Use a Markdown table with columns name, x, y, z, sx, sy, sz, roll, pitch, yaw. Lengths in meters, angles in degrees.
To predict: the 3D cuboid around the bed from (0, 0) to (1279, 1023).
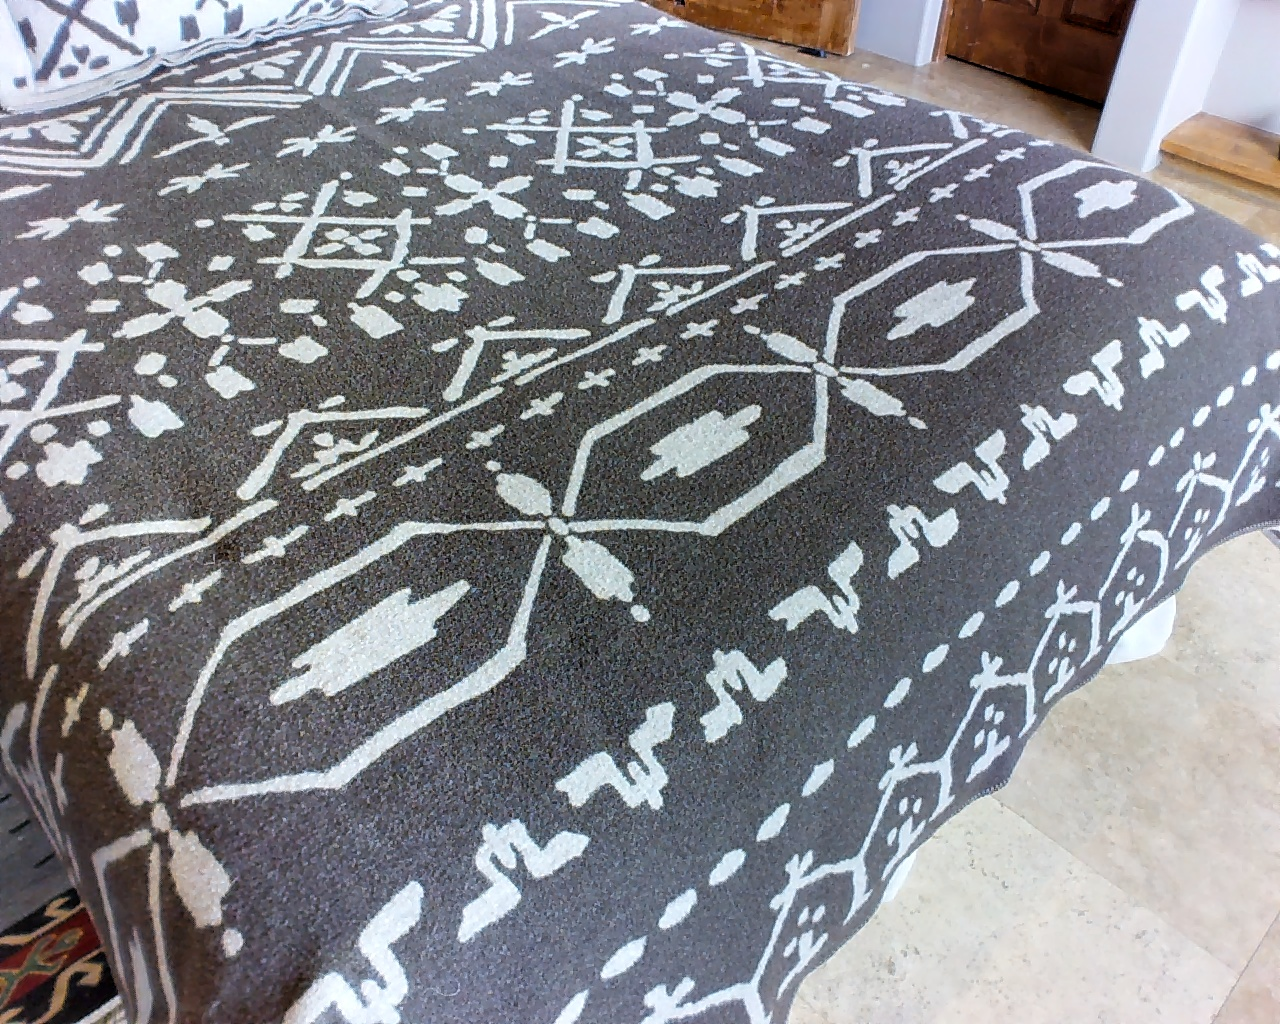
| name | x | y | z | sx | sy | sz | roll | pitch | yaw |
| --- | --- | --- | --- | --- | --- | --- | --- | --- | --- |
| bed | -0.310 | -0.170 | 1.730 | 2.370 | 0.830 | 1.880 | 34 | 51 | 31 |
